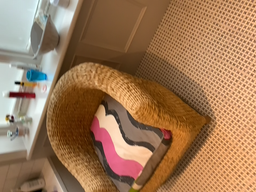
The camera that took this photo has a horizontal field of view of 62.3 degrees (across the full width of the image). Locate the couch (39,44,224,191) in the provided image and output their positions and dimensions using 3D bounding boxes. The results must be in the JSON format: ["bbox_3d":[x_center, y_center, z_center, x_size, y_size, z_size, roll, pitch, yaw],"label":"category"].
[{"bbox_3d":[-0.020,0.230,1.480,0.760,0.750,0.780,44,118,36],"label":"couch"}]
